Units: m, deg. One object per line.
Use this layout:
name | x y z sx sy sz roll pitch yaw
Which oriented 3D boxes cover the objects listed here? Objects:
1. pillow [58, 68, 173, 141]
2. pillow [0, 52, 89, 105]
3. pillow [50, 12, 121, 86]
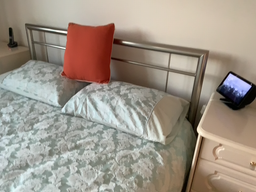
pillow | -0.070 0.010 1.380 0.580 0.150 0.450 17 30 26
pillow | -0.710 -0.180 1.710 0.540 0.140 0.560 17 30 26
pillow | -0.290 -0.340 1.520 0.410 0.420 0.170 19 46 29
